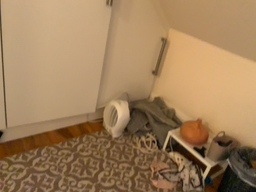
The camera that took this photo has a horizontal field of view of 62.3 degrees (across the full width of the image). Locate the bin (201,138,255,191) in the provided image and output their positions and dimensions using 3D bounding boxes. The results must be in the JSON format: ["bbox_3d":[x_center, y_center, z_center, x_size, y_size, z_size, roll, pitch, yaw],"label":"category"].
[{"bbox_3d":[0.610,0.420,1.160,0.290,0.230,0.210,-11,36,-39],"label":"bin"}]
